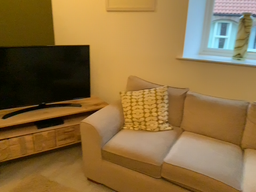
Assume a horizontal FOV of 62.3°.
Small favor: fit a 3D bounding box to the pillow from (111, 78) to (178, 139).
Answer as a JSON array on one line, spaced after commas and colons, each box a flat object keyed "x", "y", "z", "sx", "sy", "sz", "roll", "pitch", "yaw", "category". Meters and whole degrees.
[{"x": 0.150, "y": 0.110, "z": 1.980, "sx": 0.500, "sy": 0.380, "sz": 0.150, "roll": 23, "pitch": 15, "yaw": 11, "category": "pillow"}]

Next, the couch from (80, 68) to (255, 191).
[{"x": 0.740, "y": 0.410, "z": 1.740, "sx": 2.090, "sy": 0.830, "sz": 0.910, "roll": 12, "pitch": 22, "yaw": 24, "category": "couch"}]

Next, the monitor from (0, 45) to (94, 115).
[{"x": -0.800, "y": -0.170, "z": 2.020, "sx": 0.980, "sy": 0.600, "sz": 0.040, "roll": -9, "pitch": 23, "yaw": -29, "category": "monitor"}]
